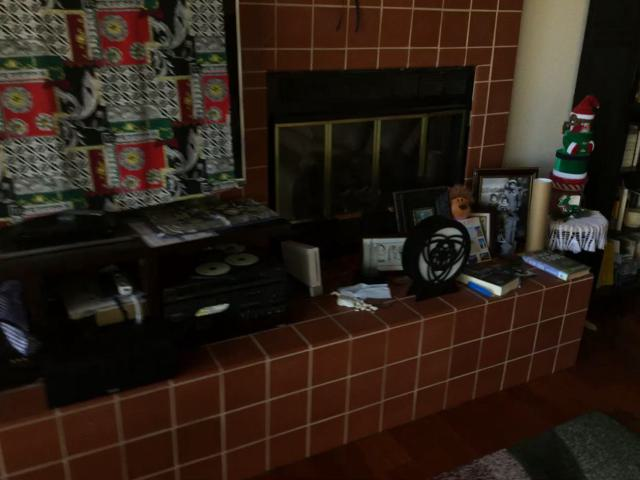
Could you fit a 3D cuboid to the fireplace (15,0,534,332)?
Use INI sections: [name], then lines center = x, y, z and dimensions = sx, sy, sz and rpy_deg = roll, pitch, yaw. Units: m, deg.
[fireplace]
center = -0.080, -0.600, 2.590
dimensions = 2.100, 1.330, 0.680
rpy_deg = -13, 19, -24
